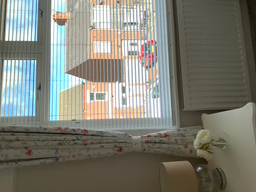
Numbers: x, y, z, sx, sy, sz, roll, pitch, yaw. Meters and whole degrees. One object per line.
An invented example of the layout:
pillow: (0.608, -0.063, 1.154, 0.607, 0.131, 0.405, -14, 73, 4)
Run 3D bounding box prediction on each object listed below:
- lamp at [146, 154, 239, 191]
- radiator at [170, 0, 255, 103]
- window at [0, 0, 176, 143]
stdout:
lamp: (0.420, 0.600, 1.460, 0.300, 0.520, 0.340, 119, 149, -75)
radiator: (0.740, -0.430, 1.890, 0.110, 0.660, 0.960, 129, 139, -79)
window: (-0.460, -0.500, 1.940, 0.270, 1.640, 1.750, 129, 139, -79)
